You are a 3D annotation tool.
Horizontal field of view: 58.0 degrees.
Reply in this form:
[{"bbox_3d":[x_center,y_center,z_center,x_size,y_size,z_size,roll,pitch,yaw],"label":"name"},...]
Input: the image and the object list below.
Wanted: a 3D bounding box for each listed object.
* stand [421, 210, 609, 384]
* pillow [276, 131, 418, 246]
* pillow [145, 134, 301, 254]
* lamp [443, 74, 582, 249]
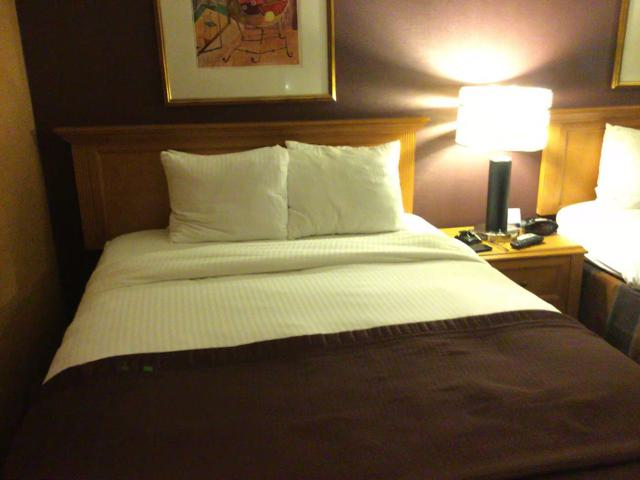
[{"bbox_3d":[0.900,0.240,2.760,0.690,0.650,0.490,-5,11,-6],"label":"stand"},{"bbox_3d":[0.100,-0.240,2.490,0.530,0.410,0.400,-5,11,-6],"label":"pillow"},{"bbox_3d":[-0.390,-0.210,2.430,0.560,0.420,0.370,-5,11,-6],"label":"pillow"},{"bbox_3d":[0.850,-0.360,2.610,0.440,0.690,0.430,-5,11,-6],"label":"lamp"}]
